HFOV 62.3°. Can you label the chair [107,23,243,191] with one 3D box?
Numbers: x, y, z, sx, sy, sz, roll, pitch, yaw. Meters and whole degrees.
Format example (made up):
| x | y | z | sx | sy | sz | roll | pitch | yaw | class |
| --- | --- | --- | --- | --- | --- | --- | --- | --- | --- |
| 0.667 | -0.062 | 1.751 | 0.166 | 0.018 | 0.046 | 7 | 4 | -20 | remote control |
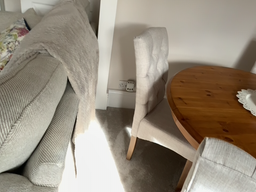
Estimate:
| x | y | z | sx | sy | sz | roll | pitch | yaw | class |
| --- | --- | --- | --- | --- | --- | --- | --- | --- | --- |
| 0.270 | 0.090 | 1.460 | 0.560 | 0.960 | 0.460 | 24 | 34 | 19 | chair |
